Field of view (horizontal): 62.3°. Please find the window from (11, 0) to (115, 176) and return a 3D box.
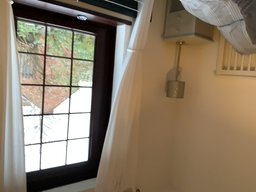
[{"bbox_3d":[-0.550,-0.040,1.910,0.860,1.350,0.100,0,-172,-37],"label":"window"}]
